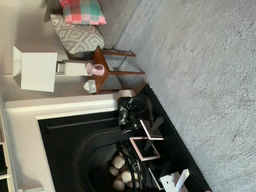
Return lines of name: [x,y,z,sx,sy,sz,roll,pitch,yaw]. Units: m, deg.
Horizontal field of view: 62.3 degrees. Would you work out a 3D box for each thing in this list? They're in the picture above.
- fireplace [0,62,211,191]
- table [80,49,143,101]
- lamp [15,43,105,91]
fireplace: [-0.190,0.590,1.600,0.660,1.240,1.570,-50,55,40]
table: [-0.180,-0.200,2.170,0.420,0.430,0.300,-52,54,40]
lamp: [-0.560,-0.230,1.790,0.260,0.640,0.240,-52,54,40]
